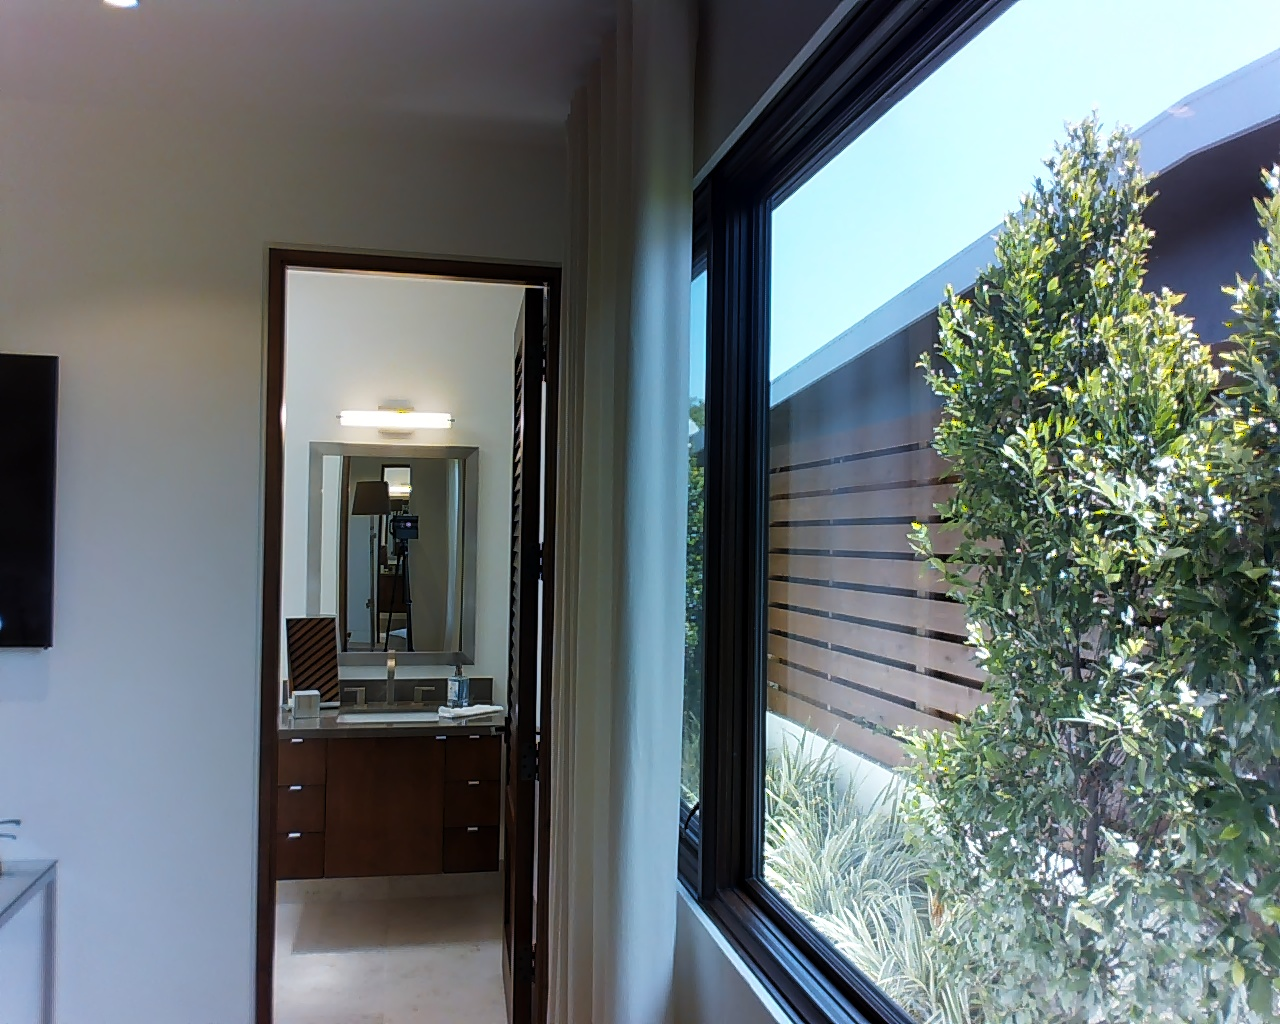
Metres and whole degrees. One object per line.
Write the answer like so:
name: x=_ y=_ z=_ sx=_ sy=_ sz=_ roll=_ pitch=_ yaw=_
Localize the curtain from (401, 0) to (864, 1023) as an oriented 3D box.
curtain: x=-0.050 y=0.290 z=2.470 sx=1.030 sy=2.820 sz=0.280 roll=0 pitch=-2 yaw=32
